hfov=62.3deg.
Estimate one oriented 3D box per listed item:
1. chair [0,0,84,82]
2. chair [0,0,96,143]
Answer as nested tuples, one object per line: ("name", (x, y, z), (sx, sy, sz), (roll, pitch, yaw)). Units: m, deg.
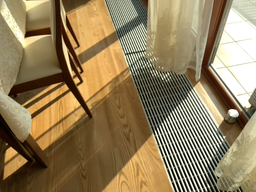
("chair", (-0.710, -0.660, 1.520), (0.580, 1.030, 0.440), (-8, 49, -4))
("chair", (-0.580, -0.270, 1.170), (0.580, 1.030, 0.460), (-14, 49, -9))
